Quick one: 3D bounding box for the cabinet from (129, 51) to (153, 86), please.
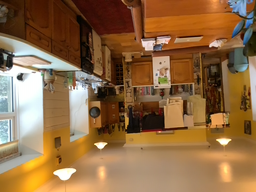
[{"bbox_3d":[0.410,-0.840,6.590,0.670,0.970,0.540,-3,178,6],"label":"cabinet"}]
